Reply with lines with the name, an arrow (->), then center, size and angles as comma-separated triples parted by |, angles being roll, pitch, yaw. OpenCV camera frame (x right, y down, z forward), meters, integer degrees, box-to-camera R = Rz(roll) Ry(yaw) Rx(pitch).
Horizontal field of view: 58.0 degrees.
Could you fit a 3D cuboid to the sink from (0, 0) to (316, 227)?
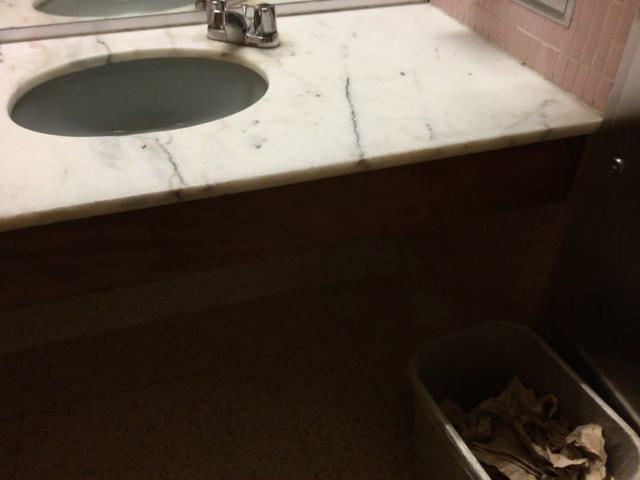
sink -> -0.280, -0.250, 1.020 | 0.470, 0.240, 0.320 | -11, 38, -15
